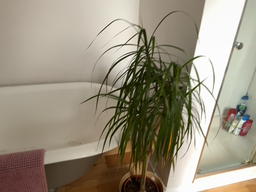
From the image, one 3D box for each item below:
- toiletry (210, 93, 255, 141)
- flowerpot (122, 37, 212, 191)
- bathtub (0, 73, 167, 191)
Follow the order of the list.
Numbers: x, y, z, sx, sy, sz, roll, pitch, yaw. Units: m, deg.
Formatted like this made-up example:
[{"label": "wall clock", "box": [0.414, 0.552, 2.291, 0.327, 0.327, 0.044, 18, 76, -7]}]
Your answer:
[{"label": "toiletry", "box": [1.040, 0.190, 2.050, 0.380, 0.290, 0.210, 19, 33, 24]}, {"label": "flowerpot", "box": [0.120, 0.250, 1.060, 0.260, 1.010, 0.250, 1, 30, -3]}, {"label": "bathtub", "box": [-0.740, 0.350, 1.250, 1.670, 0.600, 0.770, -6, 31, -15]}]
